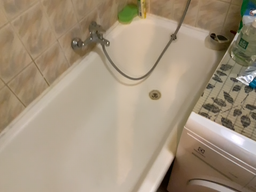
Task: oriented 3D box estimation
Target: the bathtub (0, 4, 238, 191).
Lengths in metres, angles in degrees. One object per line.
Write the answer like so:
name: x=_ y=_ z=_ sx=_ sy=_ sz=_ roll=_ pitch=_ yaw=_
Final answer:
bathtub: x=-0.040 y=0.190 z=1.240 sx=0.680 sy=0.600 sz=1.420 roll=27 pitch=61 yaw=21
